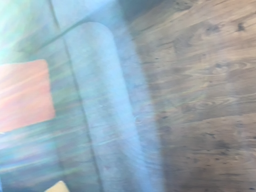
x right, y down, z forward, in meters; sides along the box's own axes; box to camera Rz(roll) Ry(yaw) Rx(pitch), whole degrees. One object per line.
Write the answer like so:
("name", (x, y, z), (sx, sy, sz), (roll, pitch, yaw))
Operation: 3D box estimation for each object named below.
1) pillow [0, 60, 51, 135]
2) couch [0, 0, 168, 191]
("pillow", (-0.710, 0.000, 1.390), (0.130, 0.430, 0.420), (-3, 92, 16))
("couch", (-0.610, -0.120, 1.500), (1.070, 0.810, 2.830), (-15, 87, 35))
